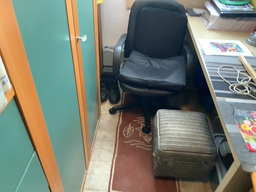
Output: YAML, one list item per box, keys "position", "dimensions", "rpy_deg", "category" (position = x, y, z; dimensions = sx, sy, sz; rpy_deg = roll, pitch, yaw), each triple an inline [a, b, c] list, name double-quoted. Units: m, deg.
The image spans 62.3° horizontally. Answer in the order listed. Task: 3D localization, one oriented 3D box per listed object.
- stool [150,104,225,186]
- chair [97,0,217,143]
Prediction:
- position: [0.360, 0.330, 1.450]
  dimensions: [0.370, 0.370, 0.380]
  rpy_deg: [4, 41, 0]
  category: "stool"
- position: [0.210, -0.240, 1.770]
  dimensions: [0.690, 0.840, 0.760]
  rpy_deg: [10, 41, 7]
  category: "chair"
